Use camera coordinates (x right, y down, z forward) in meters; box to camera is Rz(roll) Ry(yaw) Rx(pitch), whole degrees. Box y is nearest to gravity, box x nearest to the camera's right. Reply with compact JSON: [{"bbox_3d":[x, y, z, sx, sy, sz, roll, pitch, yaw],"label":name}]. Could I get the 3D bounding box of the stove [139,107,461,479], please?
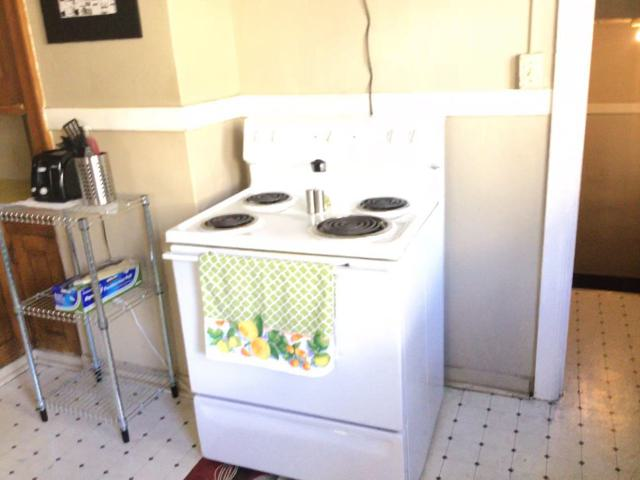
[{"bbox_3d":[0.010,0.170,2.080,0.830,1.190,0.800,5,19,18],"label":"stove"}]
